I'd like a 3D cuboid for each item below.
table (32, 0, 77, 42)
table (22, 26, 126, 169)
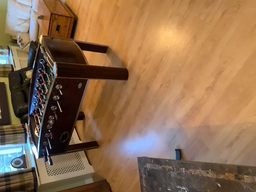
[{"bbox_3d":[-1.440,-1.580,4.080,1.040,0.500,0.550,54,131,38],"label":"table"},{"bbox_3d":[-0.860,0.060,2.940,0.860,0.840,1.640,53,131,39],"label":"table"}]
